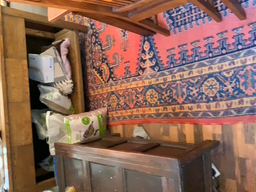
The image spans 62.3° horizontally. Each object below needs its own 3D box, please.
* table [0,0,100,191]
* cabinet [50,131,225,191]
[{"bbox_3d":[-0.840,0.030,2.010,0.590,0.840,1.590,-5,88,41],"label":"table"},{"bbox_3d":[0.010,0.560,1.470,1.070,0.570,0.510,-6,88,41],"label":"cabinet"}]
